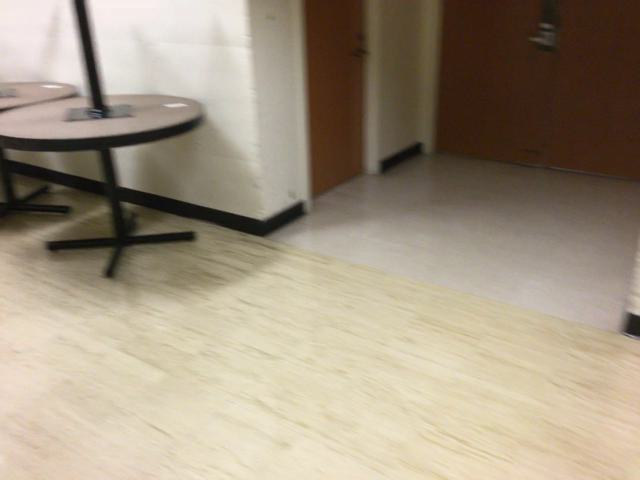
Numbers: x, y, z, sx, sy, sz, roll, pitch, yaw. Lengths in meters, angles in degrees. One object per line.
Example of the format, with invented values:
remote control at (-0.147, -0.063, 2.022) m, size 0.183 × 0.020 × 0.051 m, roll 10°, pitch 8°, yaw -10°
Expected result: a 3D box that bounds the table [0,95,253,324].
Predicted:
table at (-1.130, -0.270, 3.080) m, size 1.050 × 0.780 × 1.060 m, roll 15°, pitch 27°, yaw 34°
